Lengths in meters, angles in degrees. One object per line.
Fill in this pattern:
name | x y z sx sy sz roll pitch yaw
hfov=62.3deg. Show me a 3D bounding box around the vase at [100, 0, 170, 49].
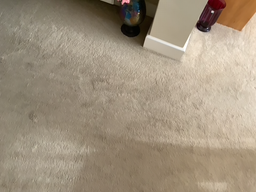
vase | 0.100 -0.800 1.240 0.420 1.010 0.370 21 64 3
